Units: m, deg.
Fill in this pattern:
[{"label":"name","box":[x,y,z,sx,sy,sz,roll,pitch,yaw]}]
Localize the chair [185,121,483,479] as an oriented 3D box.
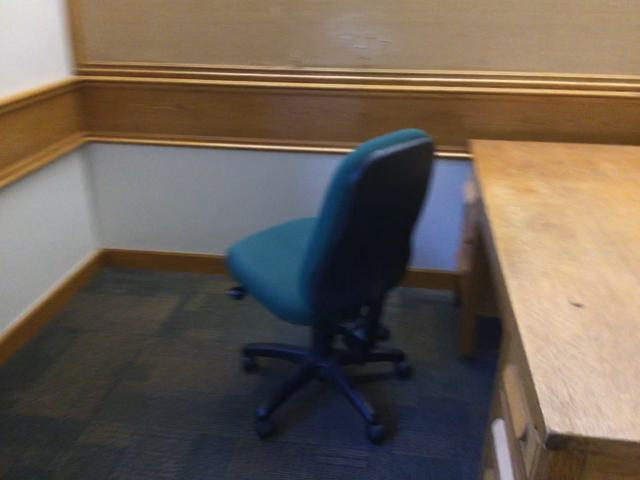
[{"label":"chair","box":[0.020,0.110,1.850,0.640,0.960,0.660,-8,14,-33]}]
